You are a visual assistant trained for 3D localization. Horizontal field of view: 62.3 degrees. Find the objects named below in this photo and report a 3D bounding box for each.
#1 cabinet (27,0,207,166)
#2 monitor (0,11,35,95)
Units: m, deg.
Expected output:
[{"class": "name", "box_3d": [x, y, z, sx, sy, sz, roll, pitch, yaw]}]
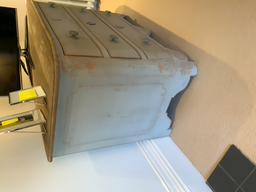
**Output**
[{"class": "cabinet", "box_3d": [-0.240, -0.240, 1.580, 1.170, 0.840, 0.640, 53, 137, 45]}, {"class": "monitor", "box_3d": [-0.960, -0.310, 1.470, 0.070, 0.520, 0.630, -38, 61, 57]}]
